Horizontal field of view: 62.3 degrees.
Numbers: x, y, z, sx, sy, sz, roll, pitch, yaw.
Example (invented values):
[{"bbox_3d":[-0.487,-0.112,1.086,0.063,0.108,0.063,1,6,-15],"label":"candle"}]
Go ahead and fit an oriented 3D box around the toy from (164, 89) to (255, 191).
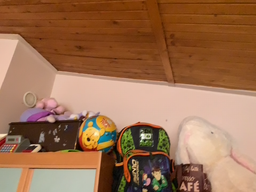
[{"bbox_3d":[0.590,0.390,1.070,0.740,0.710,0.470,-4,-27,15],"label":"toy"}]
